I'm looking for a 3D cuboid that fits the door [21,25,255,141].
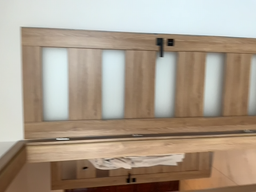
[{"bbox_3d":[0.250,-0.080,1.580,0.110,1.900,0.730,-168,78,-78],"label":"door"}]
